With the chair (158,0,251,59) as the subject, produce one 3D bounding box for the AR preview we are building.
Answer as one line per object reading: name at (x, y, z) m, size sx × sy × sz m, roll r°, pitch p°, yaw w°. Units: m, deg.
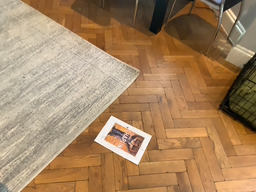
chair at (0.690, -0.900, 1.680) m, size 0.540 × 0.990 × 0.420 m, roll 41°, pitch 58°, yaw 20°
